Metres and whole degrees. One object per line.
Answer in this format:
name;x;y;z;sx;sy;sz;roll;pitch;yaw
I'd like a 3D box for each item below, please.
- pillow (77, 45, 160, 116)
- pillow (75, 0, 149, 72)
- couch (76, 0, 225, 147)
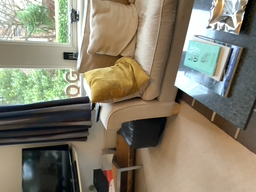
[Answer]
pillow;-0.090;-0.160;1.760;0.520;0.480;0.190;47;156;45
pillow;-0.110;-0.570;1.820;0.220;0.450;0.540;42;156;49
couch;0.110;-0.870;1.700;1.060;0.740;2.230;-132;45;-55
